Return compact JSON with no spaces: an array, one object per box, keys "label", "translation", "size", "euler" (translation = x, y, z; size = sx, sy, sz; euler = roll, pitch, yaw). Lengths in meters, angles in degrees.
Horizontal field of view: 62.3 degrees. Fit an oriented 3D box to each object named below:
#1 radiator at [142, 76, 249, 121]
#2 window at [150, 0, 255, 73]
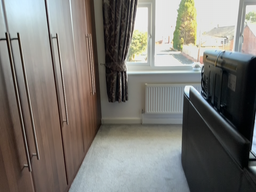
[{"label":"radiator","translation":[0.890,0.030,2.980],"size":[1.390,0.590,0.120],"euler":[1,17,7]},{"label":"window","translation":[1.270,-1.030,2.940],"size":[1.900,1.410,0.220],"euler":[1,17,6]}]
